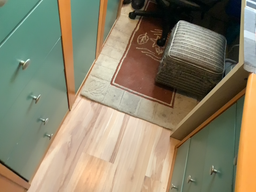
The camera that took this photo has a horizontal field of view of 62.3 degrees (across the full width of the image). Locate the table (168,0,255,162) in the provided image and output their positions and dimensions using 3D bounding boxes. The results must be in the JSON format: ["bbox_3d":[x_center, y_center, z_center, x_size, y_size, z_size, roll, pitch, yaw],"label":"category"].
[{"bbox_3d":[0.780,-0.460,1.440,0.470,0.740,1.550,21,59,0],"label":"table"}]
